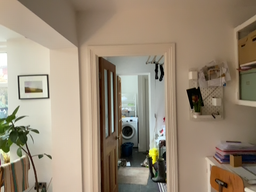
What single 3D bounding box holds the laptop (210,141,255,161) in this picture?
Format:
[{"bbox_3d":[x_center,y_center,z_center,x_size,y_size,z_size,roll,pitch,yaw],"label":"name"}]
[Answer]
[{"bbox_3d":[1.100,0.560,2.170,0.440,0.150,0.210,-1,1,2],"label":"laptop"}]
